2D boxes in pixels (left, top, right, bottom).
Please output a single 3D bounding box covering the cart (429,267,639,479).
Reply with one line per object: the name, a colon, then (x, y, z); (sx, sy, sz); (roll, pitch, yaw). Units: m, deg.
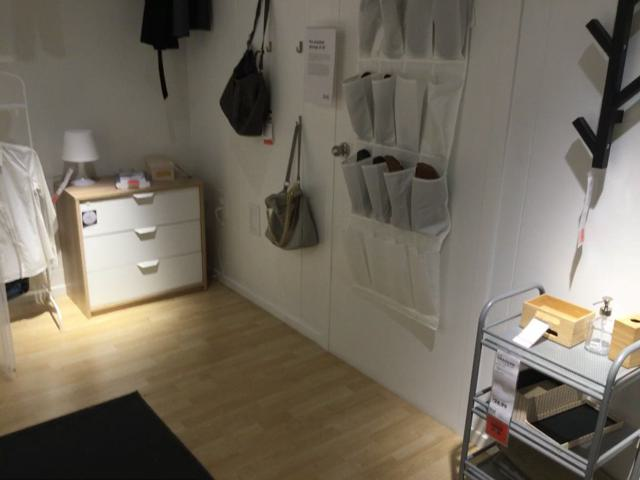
cart: (0.660, 0.530, 1.710); (0.350, 0.740, 0.500); (-11, 22, -40)
